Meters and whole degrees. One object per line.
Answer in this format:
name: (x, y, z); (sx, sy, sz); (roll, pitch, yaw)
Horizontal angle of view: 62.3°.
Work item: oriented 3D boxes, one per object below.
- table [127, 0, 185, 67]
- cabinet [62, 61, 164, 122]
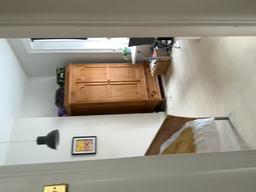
table: (0.410, -1.060, 3.630); (0.980, 0.720, 0.630); (101, 166, -60)
cabinet: (-0.330, -0.120, 4.650); (0.640, 1.980, 1.130); (101, 166, -61)
